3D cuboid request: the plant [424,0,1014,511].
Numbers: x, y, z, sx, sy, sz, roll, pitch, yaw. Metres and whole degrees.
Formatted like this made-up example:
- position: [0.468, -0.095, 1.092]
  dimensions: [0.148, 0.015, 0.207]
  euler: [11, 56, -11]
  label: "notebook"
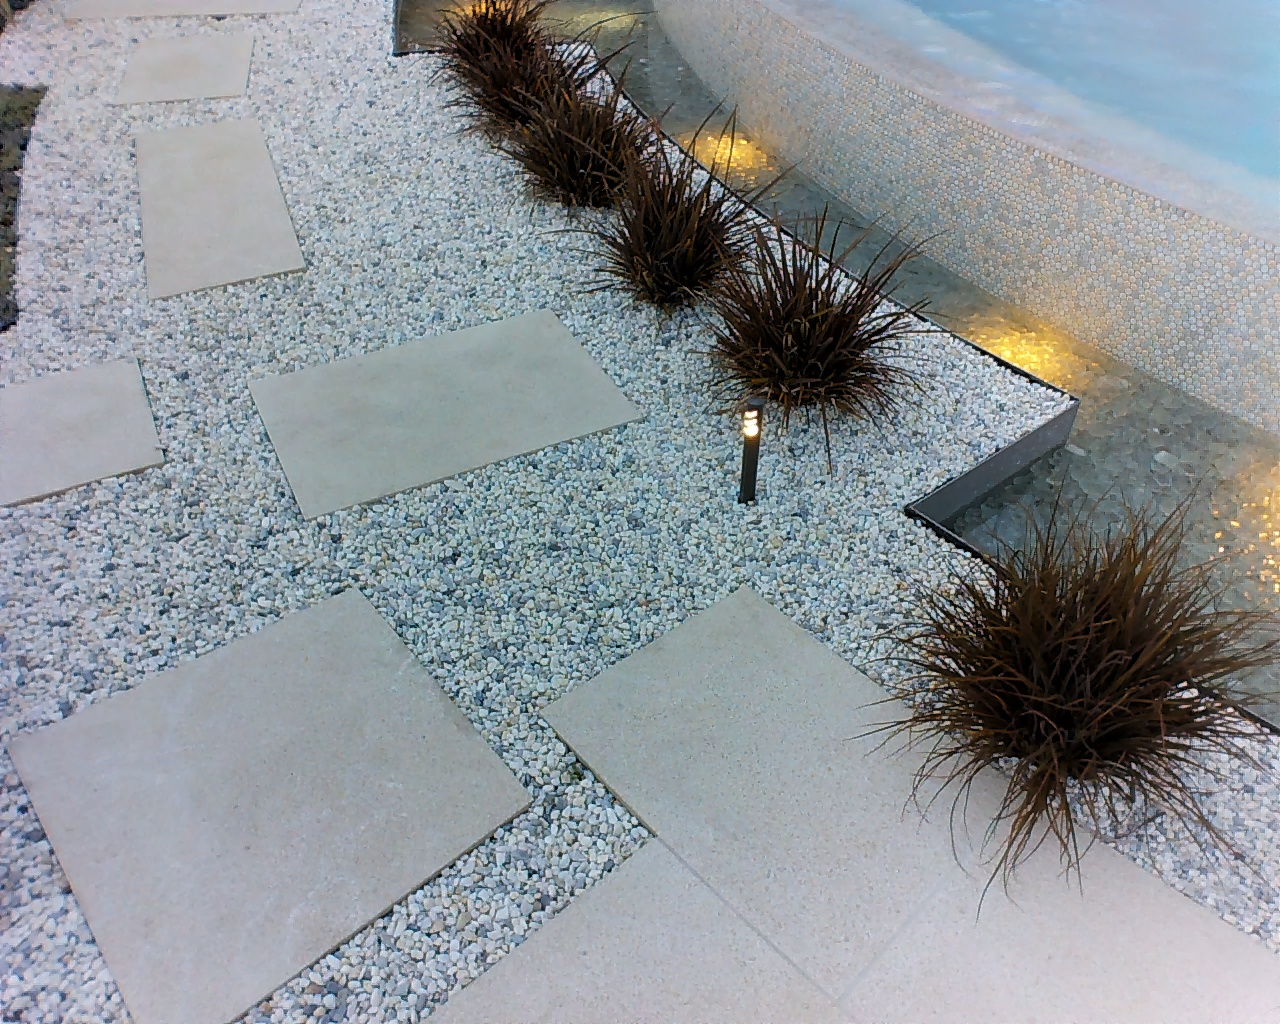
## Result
- position: [0.030, -1.030, 3.320]
  dimensions: [0.800, 0.530, 2.380]
  euler: [-14, 43, -16]
  label: "plant"
